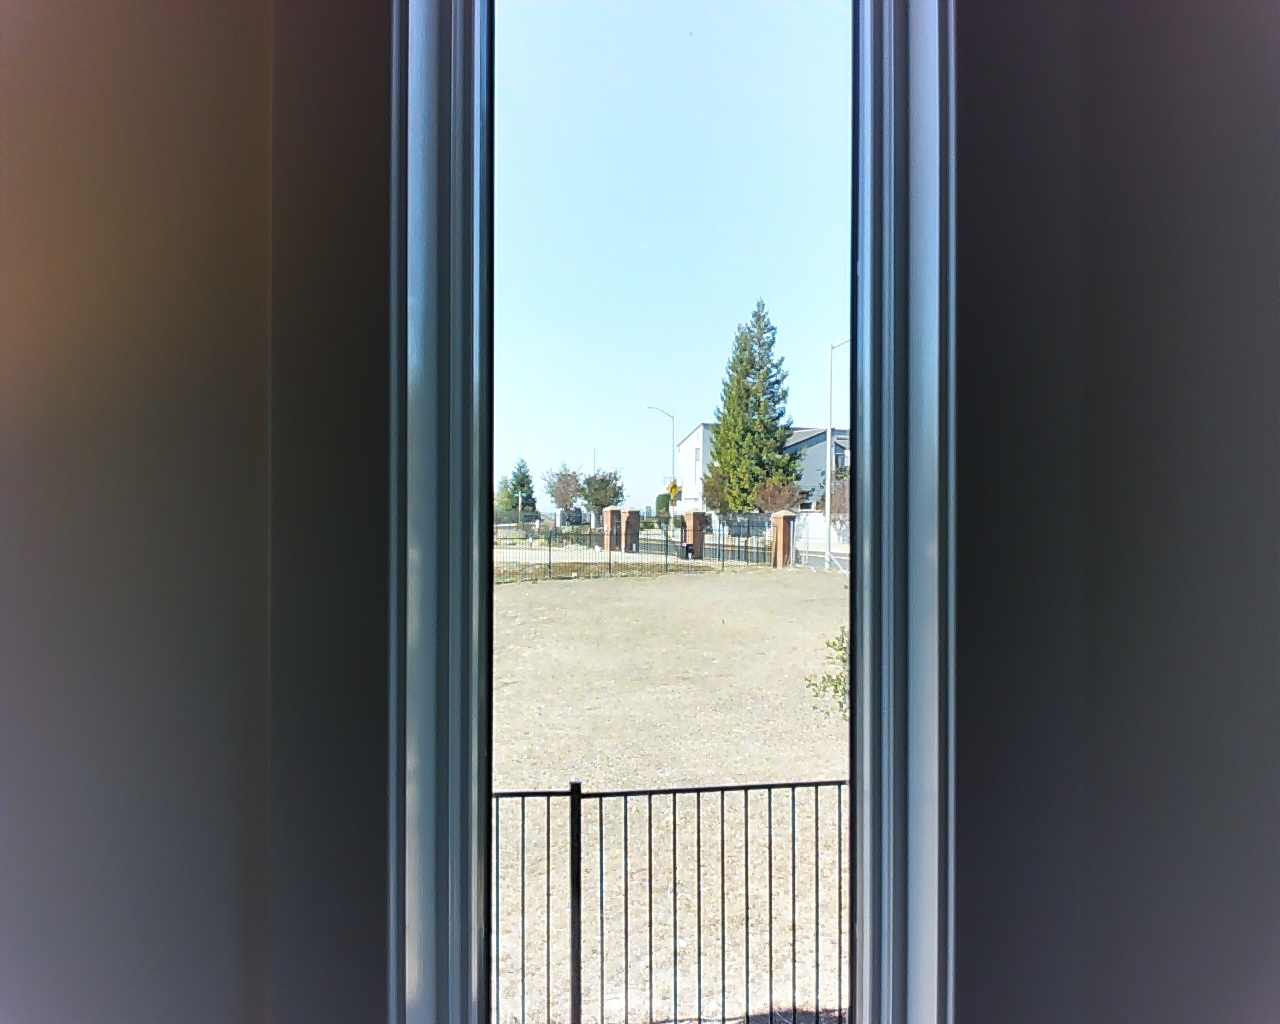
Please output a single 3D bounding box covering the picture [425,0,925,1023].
[{"bbox_3d":[0.030,0.080,0.970,0.430,1.810,0.090,0,0,3],"label":"picture"}]
